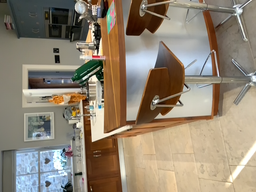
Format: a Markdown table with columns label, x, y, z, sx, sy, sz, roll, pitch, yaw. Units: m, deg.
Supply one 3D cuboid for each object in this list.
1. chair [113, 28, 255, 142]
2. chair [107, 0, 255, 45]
| label | x | y | z | sx | sy | sz | roll | pitch | yaw |
| --- | --- | --- | --- | --- | --- | --- | --- | --- | --- |
| chair | 0.510 | -0.090 | 1.460 | 0.510 | 1.070 | 0.470 | -113 | 29 | -45 |
| chair | 0.440 | -0.700 | 1.610 | 0.480 | 1.070 | 0.380 | -113 | 29 | -45 |
